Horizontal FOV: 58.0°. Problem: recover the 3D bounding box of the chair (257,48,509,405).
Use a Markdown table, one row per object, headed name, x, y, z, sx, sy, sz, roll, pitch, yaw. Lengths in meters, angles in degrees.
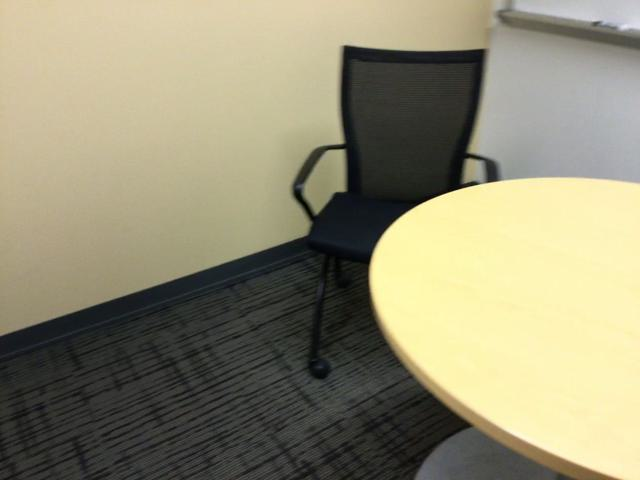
| name | x | y | z | sx | sy | sz | roll | pitch | yaw |
| --- | --- | --- | --- | --- | --- | --- | --- | --- | --- |
| chair | 0.220 | -0.070 | 1.800 | 0.590 | 0.900 | 0.560 | 7 | 30 | 15 |
